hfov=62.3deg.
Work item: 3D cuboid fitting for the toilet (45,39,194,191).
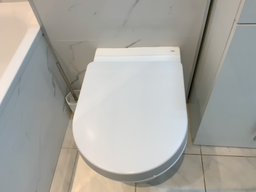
[{"bbox_3d":[0.010,0.120,0.890,0.390,0.450,0.550,1,53,6],"label":"toilet"}]
